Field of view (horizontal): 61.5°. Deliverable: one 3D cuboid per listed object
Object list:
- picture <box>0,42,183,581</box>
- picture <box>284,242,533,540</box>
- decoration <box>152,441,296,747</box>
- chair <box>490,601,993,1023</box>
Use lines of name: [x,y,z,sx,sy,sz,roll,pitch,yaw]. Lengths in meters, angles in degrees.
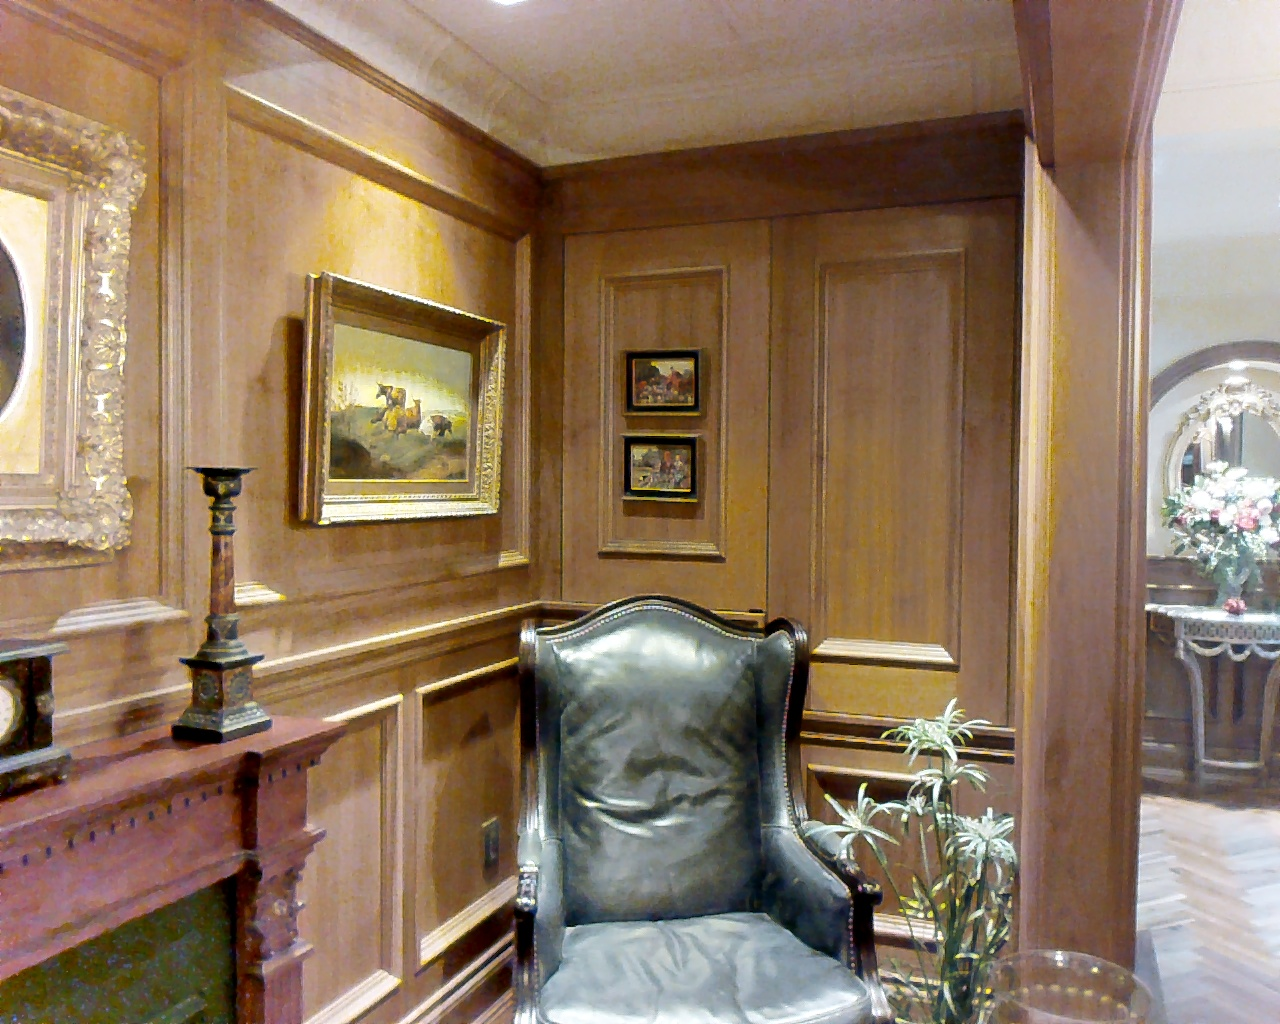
picture: [-0.860,-0.250,1.390,0.150,0.670,0.550,1,2,22]
picture: [-0.490,-0.240,2.460,0.120,0.570,0.810,1,2,22]
decoration: [-0.660,0.120,1.710,0.150,0.460,0.150,1,2,22]
chair: [0.110,0.810,2.370,0.860,1.110,1.070,1,2,-8]
